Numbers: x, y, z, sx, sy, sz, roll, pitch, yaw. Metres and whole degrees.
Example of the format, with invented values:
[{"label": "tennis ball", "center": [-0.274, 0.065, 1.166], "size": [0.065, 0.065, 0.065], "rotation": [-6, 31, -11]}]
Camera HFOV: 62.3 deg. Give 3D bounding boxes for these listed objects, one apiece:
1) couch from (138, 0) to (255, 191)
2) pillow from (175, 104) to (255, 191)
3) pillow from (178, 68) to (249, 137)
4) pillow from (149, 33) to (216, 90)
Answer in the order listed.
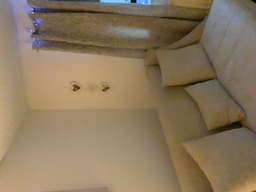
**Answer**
[{"label": "couch", "center": [0.790, -0.070, 1.690], "size": [1.740, 0.950, 0.960], "rotation": [-103, 17, -45]}, {"label": "pillow", "center": [0.640, 0.330, 1.350], "size": [0.530, 0.470, 0.130], "rotation": [-116, 6, -56]}, {"label": "pillow", "center": [0.670, 0.030, 1.740], "size": [0.110, 0.280, 0.550], "rotation": [72, 175, -50]}, {"label": "pillow", "center": [0.510, -0.360, 2.090], "size": [0.110, 0.430, 0.540], "rotation": [63, -178, -46]}]
